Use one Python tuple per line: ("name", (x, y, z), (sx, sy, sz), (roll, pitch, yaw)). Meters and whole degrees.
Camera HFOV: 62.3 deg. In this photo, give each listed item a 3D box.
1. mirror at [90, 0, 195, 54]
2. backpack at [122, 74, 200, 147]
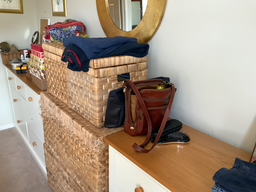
("mirror", (0.040, -0.660, 1.340), (0.170, 0.660, 0.780), (-15, 26, -39))
("backpack", (0.160, 0.050, 1.070), (0.300, 0.240, 0.230), (-15, 26, -39))
